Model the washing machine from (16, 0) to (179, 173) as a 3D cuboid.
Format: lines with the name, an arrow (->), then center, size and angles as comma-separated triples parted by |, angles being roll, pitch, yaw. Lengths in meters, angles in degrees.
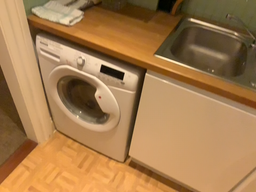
washing machine -> -0.160, -0.100, 1.470 | 0.630, 0.930, 0.650 | 22, 46, 13

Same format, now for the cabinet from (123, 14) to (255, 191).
cabinet -> 0.420, 0.130, 1.330 | 0.610, 0.930, 0.620 | 22, 46, 13
